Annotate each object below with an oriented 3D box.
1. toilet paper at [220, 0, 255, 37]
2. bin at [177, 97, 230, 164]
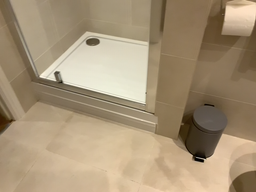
[{"bbox_3d":[0.420,-0.300,0.790,0.110,0.110,0.090,13,46,14],"label":"toilet paper"},{"bbox_3d":[0.410,0.190,1.170,0.190,0.260,0.210,16,47,16],"label":"bin"}]
